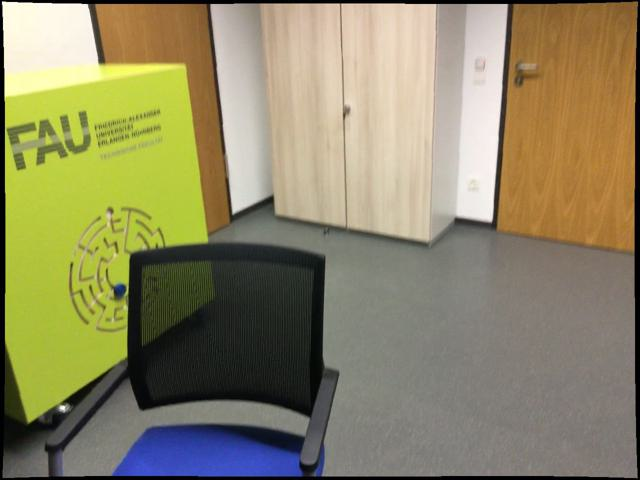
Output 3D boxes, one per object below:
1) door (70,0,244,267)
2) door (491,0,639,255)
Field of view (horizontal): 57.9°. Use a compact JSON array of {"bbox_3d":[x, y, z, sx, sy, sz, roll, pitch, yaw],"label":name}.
[{"bbox_3d":[-0.909,-1.001,3.370,0.140,2.122,0.980,12,27,30],"label":"door"},{"bbox_3d":[1.489,-0.961,3.040,0.999,2.092,0.130,13,28,32],"label":"door"}]
